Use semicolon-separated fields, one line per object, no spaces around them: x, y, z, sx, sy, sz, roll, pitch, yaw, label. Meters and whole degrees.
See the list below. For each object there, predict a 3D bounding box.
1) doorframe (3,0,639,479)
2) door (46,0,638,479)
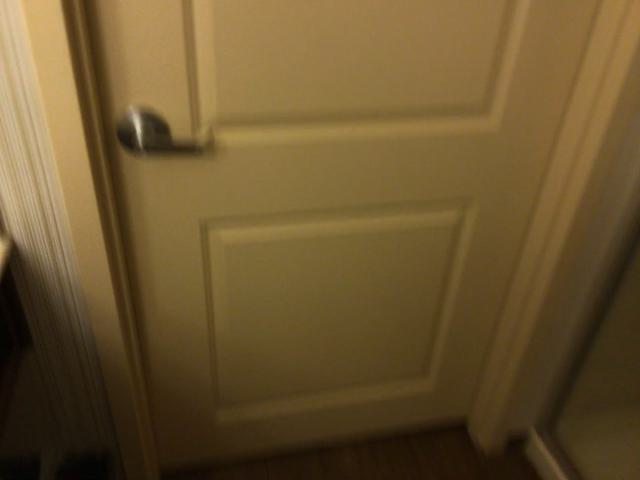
0.100;-0.250;0.980;1.050;2.070;0.140;-7;36;-11;doorframe
0.070;-0.200;1.040;0.930;1.930;0.080;-7;36;-11;door
